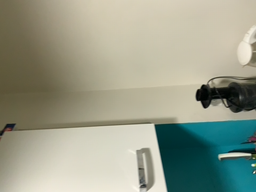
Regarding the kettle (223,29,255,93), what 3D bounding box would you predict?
[{"bbox_3d":[0.630,-0.170,1.030,0.150,0.220,0.260,-94,2,-53],"label":"kettle"}]
